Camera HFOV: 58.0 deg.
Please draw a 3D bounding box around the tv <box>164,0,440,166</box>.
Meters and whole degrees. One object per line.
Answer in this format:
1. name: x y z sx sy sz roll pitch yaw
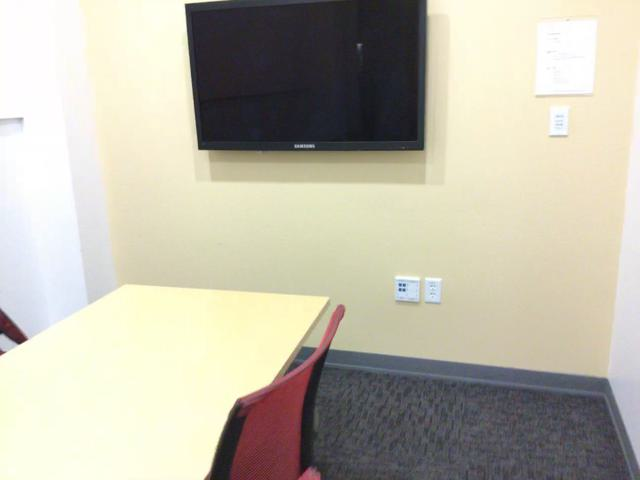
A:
1. tv: -0.120 -0.730 2.540 1.200 0.700 0.270 8 15 26
